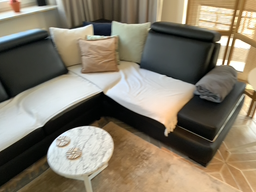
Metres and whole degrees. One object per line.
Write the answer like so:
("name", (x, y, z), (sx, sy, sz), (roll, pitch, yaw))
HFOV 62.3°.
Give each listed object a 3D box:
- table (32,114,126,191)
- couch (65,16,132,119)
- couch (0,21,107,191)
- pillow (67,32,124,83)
("table", (-0.330, 0.480, 1.560), (0.430, 0.380, 0.450), (24, 42, 32))
("couch", (-0.300, -0.400, 2.510), (0.570, 0.770, 1.110), (-4, 34, -4))
("couch", (-1.100, 0.020, 1.860), (1.020, 0.830, 1.500), (24, 42, 32))
("pillow", (-0.360, -0.410, 2.360), (0.490, 0.330, 0.200), (-32, 59, 16))
